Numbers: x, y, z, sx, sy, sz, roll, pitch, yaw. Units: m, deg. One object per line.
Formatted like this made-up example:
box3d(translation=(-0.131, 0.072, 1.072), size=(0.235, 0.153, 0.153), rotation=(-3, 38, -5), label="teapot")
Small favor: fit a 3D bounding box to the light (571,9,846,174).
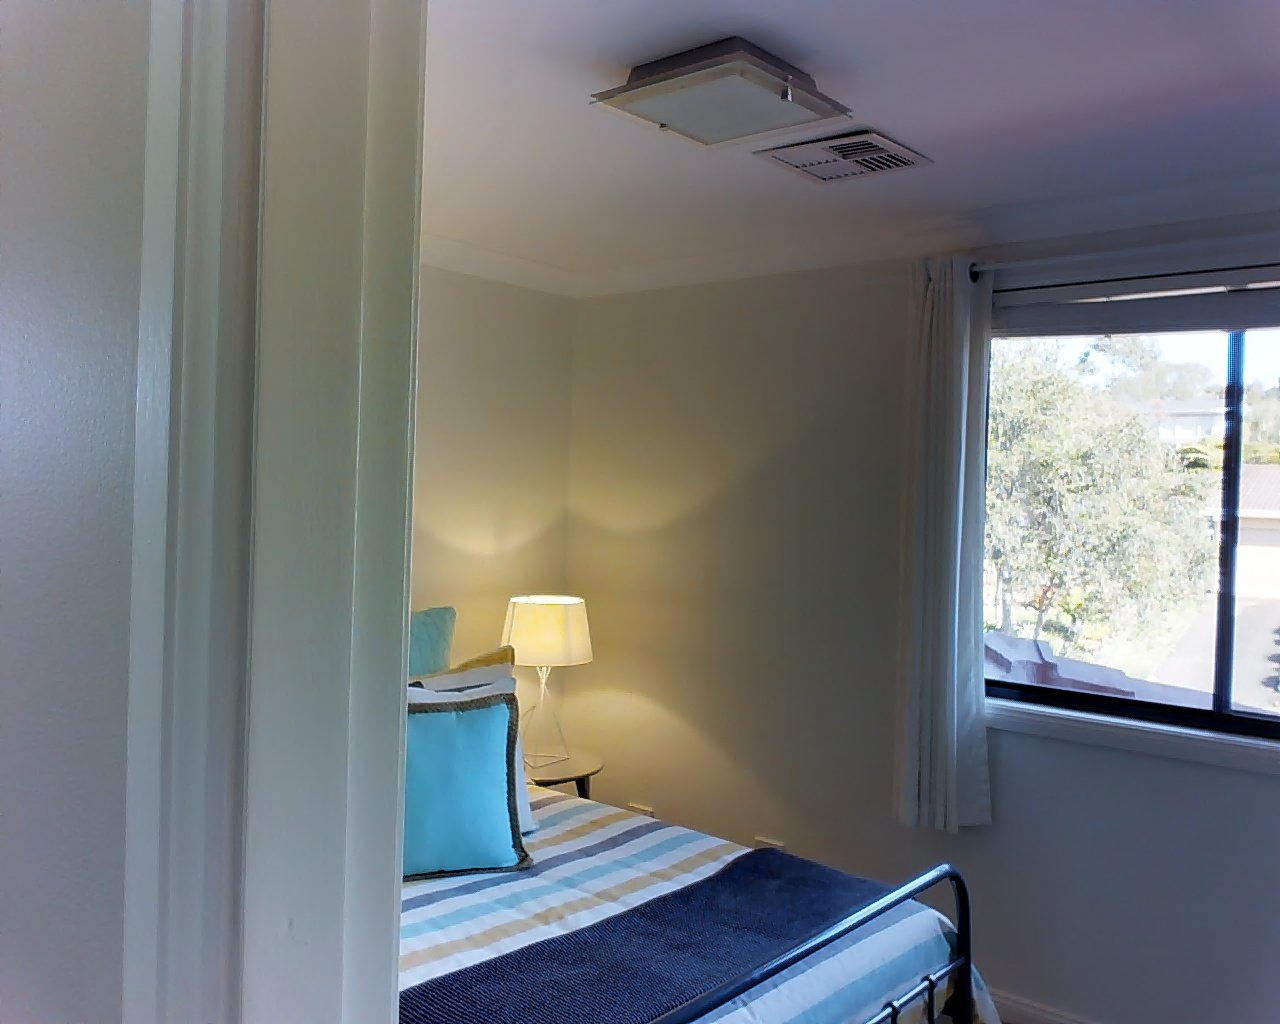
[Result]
box3d(translation=(0.140, -0.840, 2.190), size=(0.430, 0.130, 0.360), rotation=(2, 1, 40), label="light")
